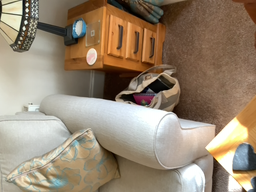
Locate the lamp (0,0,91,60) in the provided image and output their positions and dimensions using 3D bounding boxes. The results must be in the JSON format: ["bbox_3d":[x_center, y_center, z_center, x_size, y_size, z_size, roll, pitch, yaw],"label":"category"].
[{"bbox_3d":[-0.470,-0.400,1.150,0.260,0.450,0.320,2,89,43],"label":"lamp"}]
